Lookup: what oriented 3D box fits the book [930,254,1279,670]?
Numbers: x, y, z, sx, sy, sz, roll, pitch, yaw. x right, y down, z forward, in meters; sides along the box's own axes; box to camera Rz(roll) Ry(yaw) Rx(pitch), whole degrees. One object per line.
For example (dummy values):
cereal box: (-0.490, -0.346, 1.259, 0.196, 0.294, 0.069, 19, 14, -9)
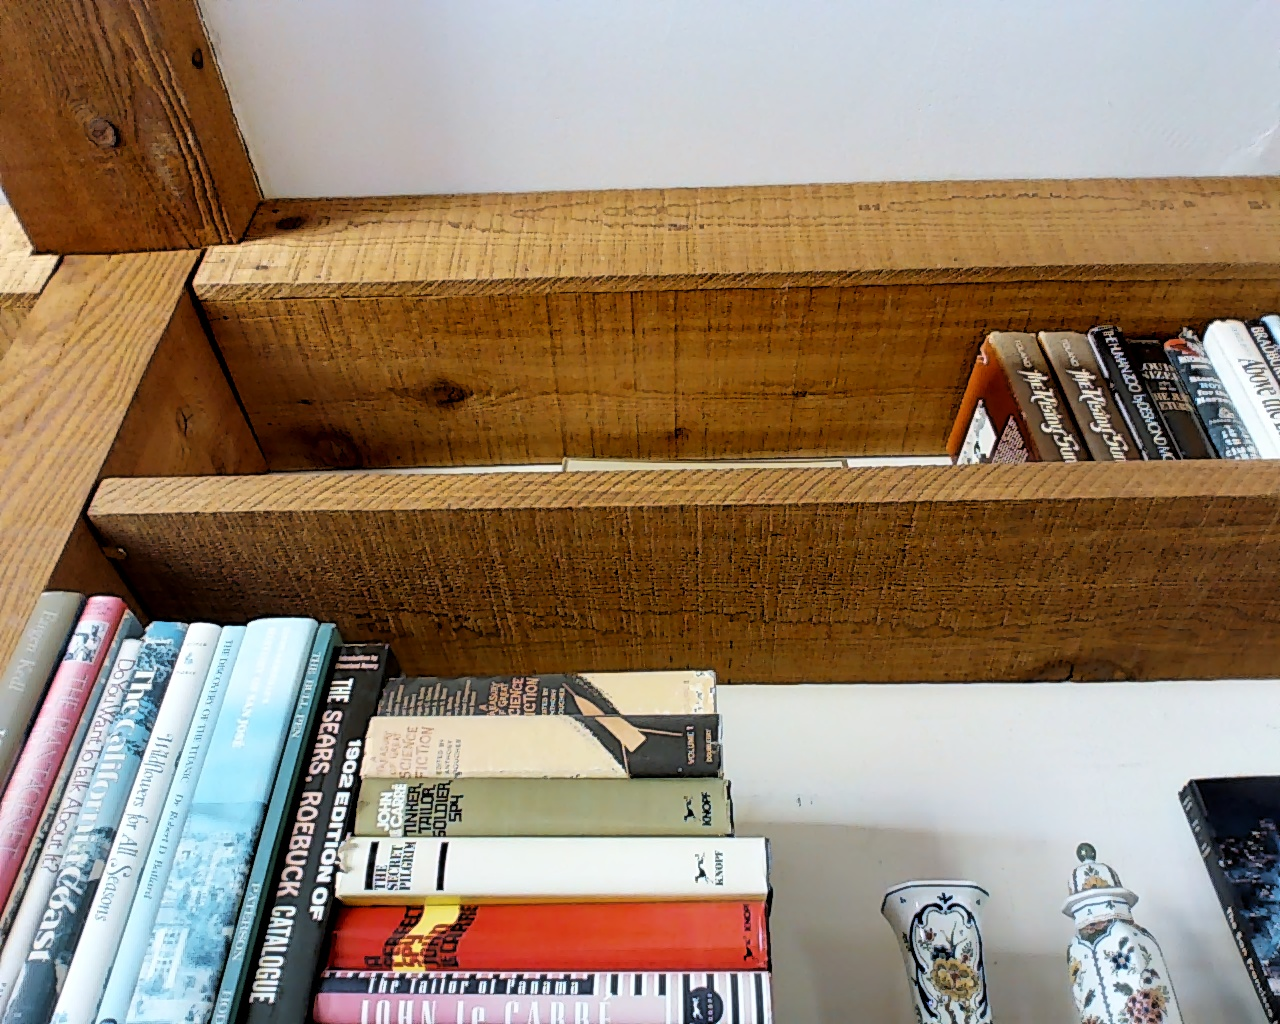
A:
book: (0.500, -0.040, 0.920, 0.420, 0.250, 0.250, -1, -41, 3)
